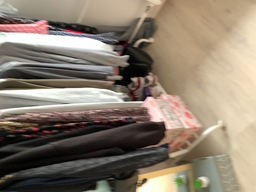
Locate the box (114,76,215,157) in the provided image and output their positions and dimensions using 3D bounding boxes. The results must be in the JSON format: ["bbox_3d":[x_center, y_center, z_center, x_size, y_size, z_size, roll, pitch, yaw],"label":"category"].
[{"bbox_3d":[0.240,0.150,1.420,0.380,0.490,0.430,-19,73,47],"label":"box"}]

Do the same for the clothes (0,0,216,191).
[{"bbox_3d":[-0.430,0.010,1.180,0.620,1.010,1.380,-55,50,31],"label":"clothes"}]
